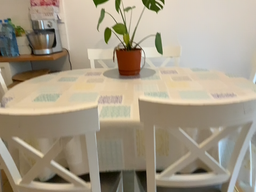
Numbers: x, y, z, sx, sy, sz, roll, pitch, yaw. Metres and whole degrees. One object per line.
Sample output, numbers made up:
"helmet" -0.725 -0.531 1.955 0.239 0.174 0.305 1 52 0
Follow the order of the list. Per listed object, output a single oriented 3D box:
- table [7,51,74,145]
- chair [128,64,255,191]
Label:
"table" -0.820 0.010 2.110 0.360 0.850 0.410 0 19 3
"chair" 0.240 0.350 0.990 0.420 0.900 0.480 -3 18 -4
